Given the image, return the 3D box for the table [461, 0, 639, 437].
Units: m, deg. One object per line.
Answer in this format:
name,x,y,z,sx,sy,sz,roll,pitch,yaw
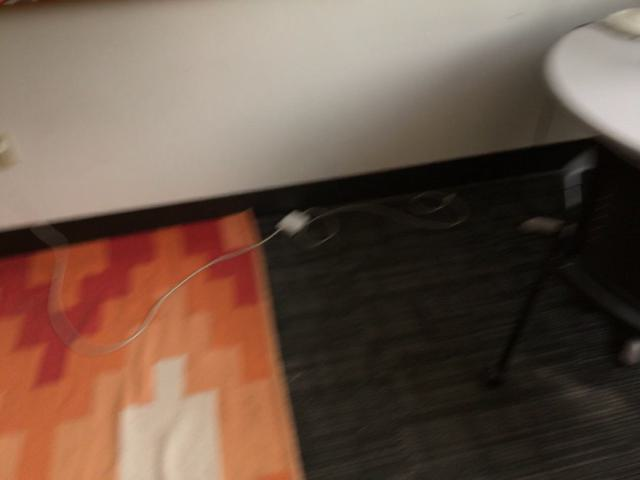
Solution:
table,1.180,-0.190,1.710,1.100,0.780,1.010,-9,40,-8
